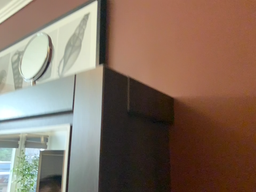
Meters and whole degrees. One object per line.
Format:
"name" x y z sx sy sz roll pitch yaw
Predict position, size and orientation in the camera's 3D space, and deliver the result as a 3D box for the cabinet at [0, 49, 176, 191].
"cabinet" -0.570 0.280 0.820 1.460 0.480 0.320 -9 -16 33
